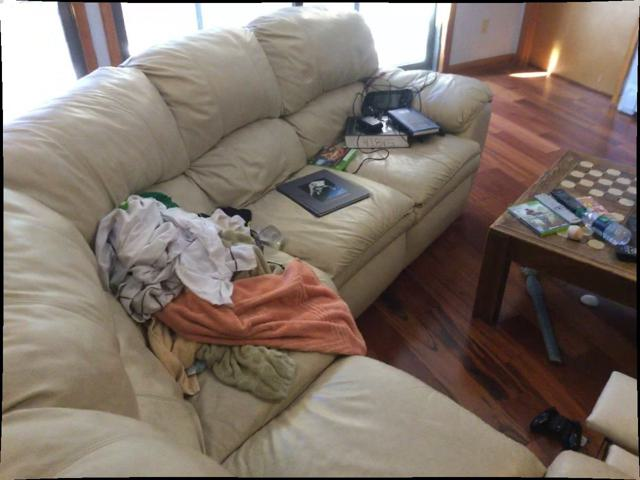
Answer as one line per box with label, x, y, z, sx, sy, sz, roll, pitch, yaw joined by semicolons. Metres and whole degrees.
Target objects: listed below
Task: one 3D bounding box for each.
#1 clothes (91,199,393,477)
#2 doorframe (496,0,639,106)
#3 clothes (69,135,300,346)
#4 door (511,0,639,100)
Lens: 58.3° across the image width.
clothes;-0.210;0.220;1.560;0.640;0.350;0.460;-17;38;-23
doorframe;1.868;-2.052;3.990;0.200;1.901;1.150;-17;39;-23
clothes;-0.400;-0.030;1.720;0.530;0.320;0.450;-17;38;-23
door;1.928;-2.102;3.980;0.210;2.001;0.940;-17;39;-23
